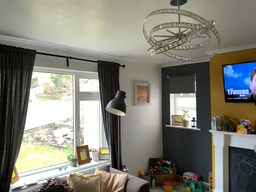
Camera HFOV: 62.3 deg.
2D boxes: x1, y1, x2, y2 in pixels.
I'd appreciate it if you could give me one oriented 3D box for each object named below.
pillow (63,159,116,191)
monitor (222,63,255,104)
[{"bbox_3d":[-0.460,1.140,2.660,0.170,0.390,0.540,-2,30,48],"label":"pillow"},{"bbox_3d":[1.760,-0.170,2.820,0.950,0.550,0.040,-1,9,45],"label":"monitor"}]
